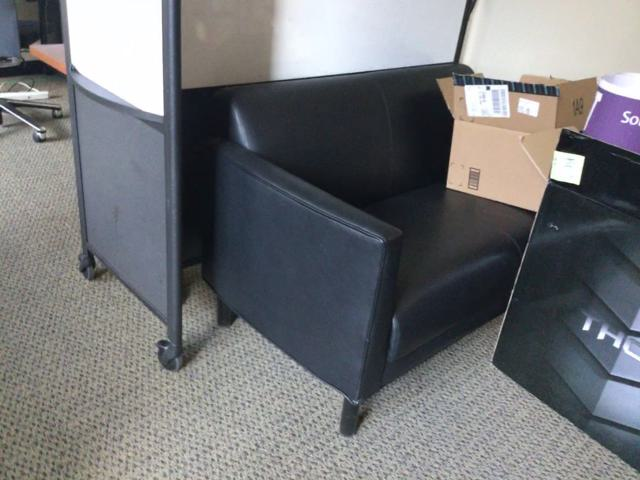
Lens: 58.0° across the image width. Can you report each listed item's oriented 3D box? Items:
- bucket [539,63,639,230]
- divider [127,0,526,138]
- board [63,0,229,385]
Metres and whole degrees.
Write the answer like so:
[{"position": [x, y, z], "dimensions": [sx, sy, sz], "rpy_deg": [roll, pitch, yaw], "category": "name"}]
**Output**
[{"position": [0.790, -0.250, 1.450], "dimensions": [0.330, 0.320, 0.240], "rpy_deg": [-15, 32, -31], "category": "bucket"}, {"position": [0.110, -0.900, 1.740], "dimensions": [1.330, 0.970, 0.280], "rpy_deg": [-15, 32, -31], "category": "divider"}, {"position": [-0.460, -0.460, 1.420], "dimensions": [0.150, 1.520, 0.690], "rpy_deg": [-15, 32, -31], "category": "board"}]
